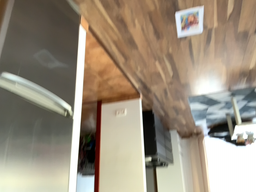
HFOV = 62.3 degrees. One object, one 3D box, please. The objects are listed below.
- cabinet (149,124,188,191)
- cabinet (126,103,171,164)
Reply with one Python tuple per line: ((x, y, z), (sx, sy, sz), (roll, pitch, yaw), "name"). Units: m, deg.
((0.980, 1.730, 5.080), (0.660, 1.890, 0.800), (-9, 156, 18), "cabinet")
((0.460, 0.840, 4.260), (0.450, 0.870, 1.620), (-9, 156, 18), "cabinet")
